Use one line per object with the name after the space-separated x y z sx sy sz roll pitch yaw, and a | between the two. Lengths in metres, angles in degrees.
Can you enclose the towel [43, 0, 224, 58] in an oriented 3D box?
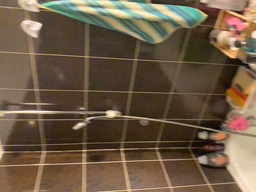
0.030 -0.350 0.910 0.080 0.730 0.320 -107 22 -56 | towel
